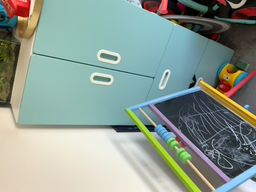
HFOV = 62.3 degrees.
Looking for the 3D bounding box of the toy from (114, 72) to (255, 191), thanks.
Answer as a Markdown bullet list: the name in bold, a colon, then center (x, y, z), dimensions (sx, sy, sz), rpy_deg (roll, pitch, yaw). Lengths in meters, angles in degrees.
- **toy**: center (0.320, 0.180, 0.980), dimensions (0.290, 0.600, 0.520), rpy_deg (-69, 24, 16)
